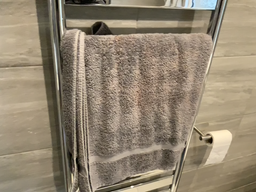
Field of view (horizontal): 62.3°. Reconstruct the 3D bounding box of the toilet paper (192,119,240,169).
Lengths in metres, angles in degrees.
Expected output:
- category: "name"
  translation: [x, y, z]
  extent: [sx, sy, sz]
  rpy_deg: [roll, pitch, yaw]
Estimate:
- category: "toilet paper"
  translation: [0.400, 0.220, 0.980]
  extent: [0.130, 0.180, 0.100]
  rpy_deg: [-6, 30, -21]
